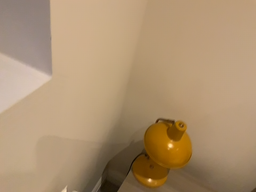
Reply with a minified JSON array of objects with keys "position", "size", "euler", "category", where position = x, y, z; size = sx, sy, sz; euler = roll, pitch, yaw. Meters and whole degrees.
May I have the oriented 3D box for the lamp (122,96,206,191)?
[{"position":[0.140,0.210,0.860],"size":[0.200,0.300,0.210],"euler":[26,40,14],"category":"lamp"}]
